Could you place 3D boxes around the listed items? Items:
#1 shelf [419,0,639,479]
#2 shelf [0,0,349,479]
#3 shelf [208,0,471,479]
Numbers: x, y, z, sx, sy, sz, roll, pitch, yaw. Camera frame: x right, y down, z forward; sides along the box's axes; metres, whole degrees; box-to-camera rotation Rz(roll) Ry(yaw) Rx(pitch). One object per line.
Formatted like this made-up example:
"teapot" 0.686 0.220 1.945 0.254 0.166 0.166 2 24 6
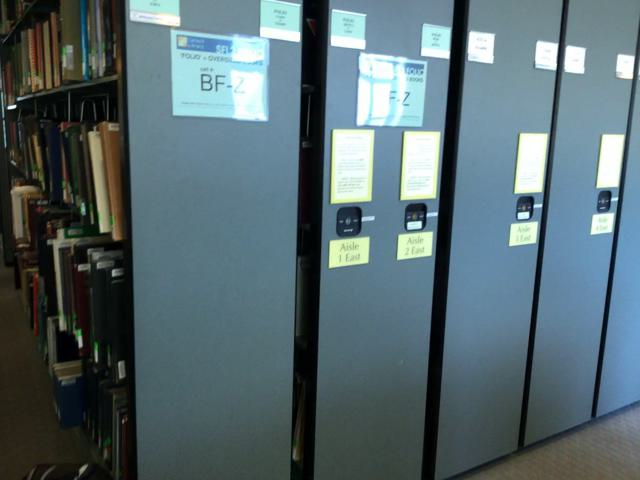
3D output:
"shelf" 1.130 -0.030 2.530 1.610 1.970 0.180 -8 12 -29
"shelf" -0.610 0.090 2.200 0.840 1.940 1.280 -8 12 -29
"shelf" 0.080 0.070 2.270 0.710 1.840 0.680 -8 12 -29
